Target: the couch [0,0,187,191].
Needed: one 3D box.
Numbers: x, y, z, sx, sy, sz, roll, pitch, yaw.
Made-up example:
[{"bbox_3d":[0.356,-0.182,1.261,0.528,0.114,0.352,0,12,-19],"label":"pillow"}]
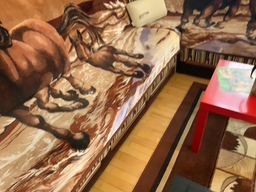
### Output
[{"bbox_3d":[-0.440,-0.120,1.390,0.950,0.980,2.170,18,43,24],"label":"couch"}]
